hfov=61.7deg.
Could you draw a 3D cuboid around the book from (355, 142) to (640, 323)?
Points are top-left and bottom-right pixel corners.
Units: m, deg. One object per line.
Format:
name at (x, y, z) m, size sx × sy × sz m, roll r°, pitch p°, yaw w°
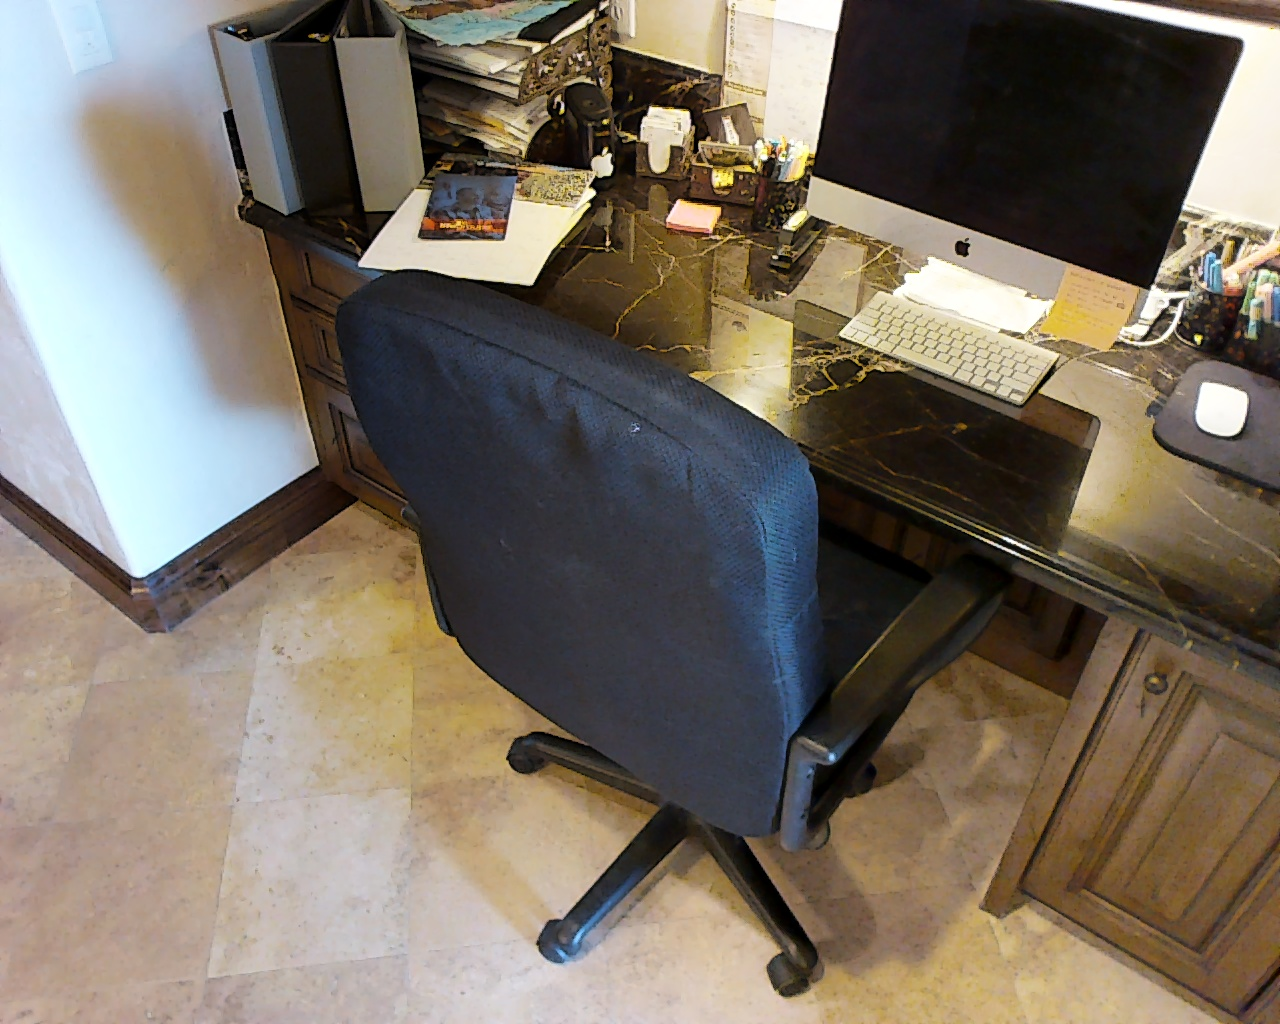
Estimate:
book at (-0.220, -0.490, 1.820) m, size 0.340 × 0.050 × 0.490 m, roll 9°, pitch 43°, yaw 9°
